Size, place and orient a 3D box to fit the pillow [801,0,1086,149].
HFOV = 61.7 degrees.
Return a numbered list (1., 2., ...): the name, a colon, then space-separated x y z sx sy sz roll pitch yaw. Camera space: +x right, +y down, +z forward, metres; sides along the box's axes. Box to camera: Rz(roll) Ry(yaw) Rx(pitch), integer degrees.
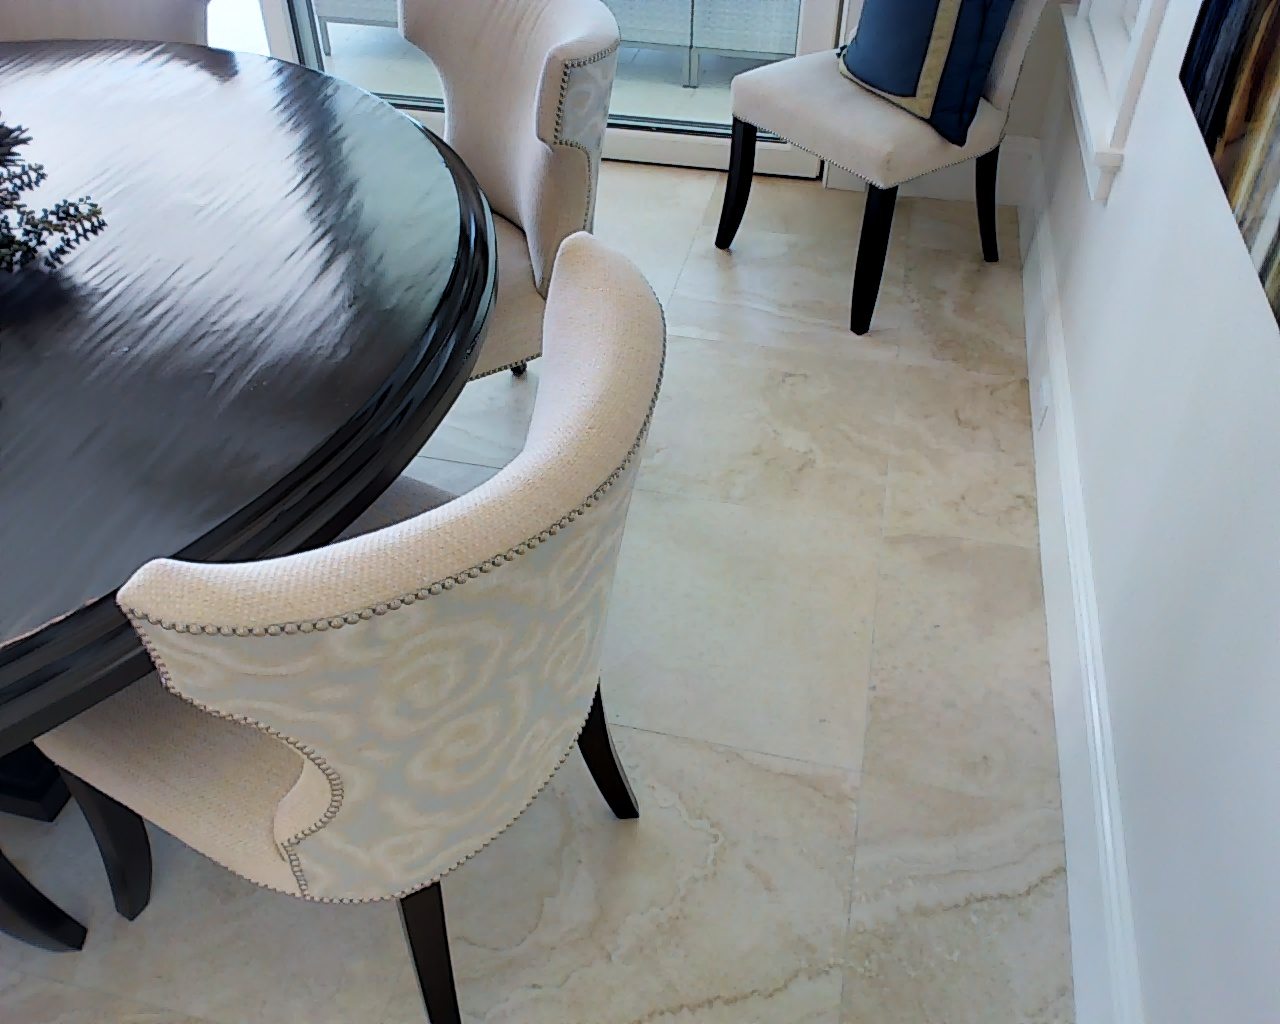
1. pillow: 0.710 -1.200 2.550 0.320 0.500 0.580 -14 36 -24
